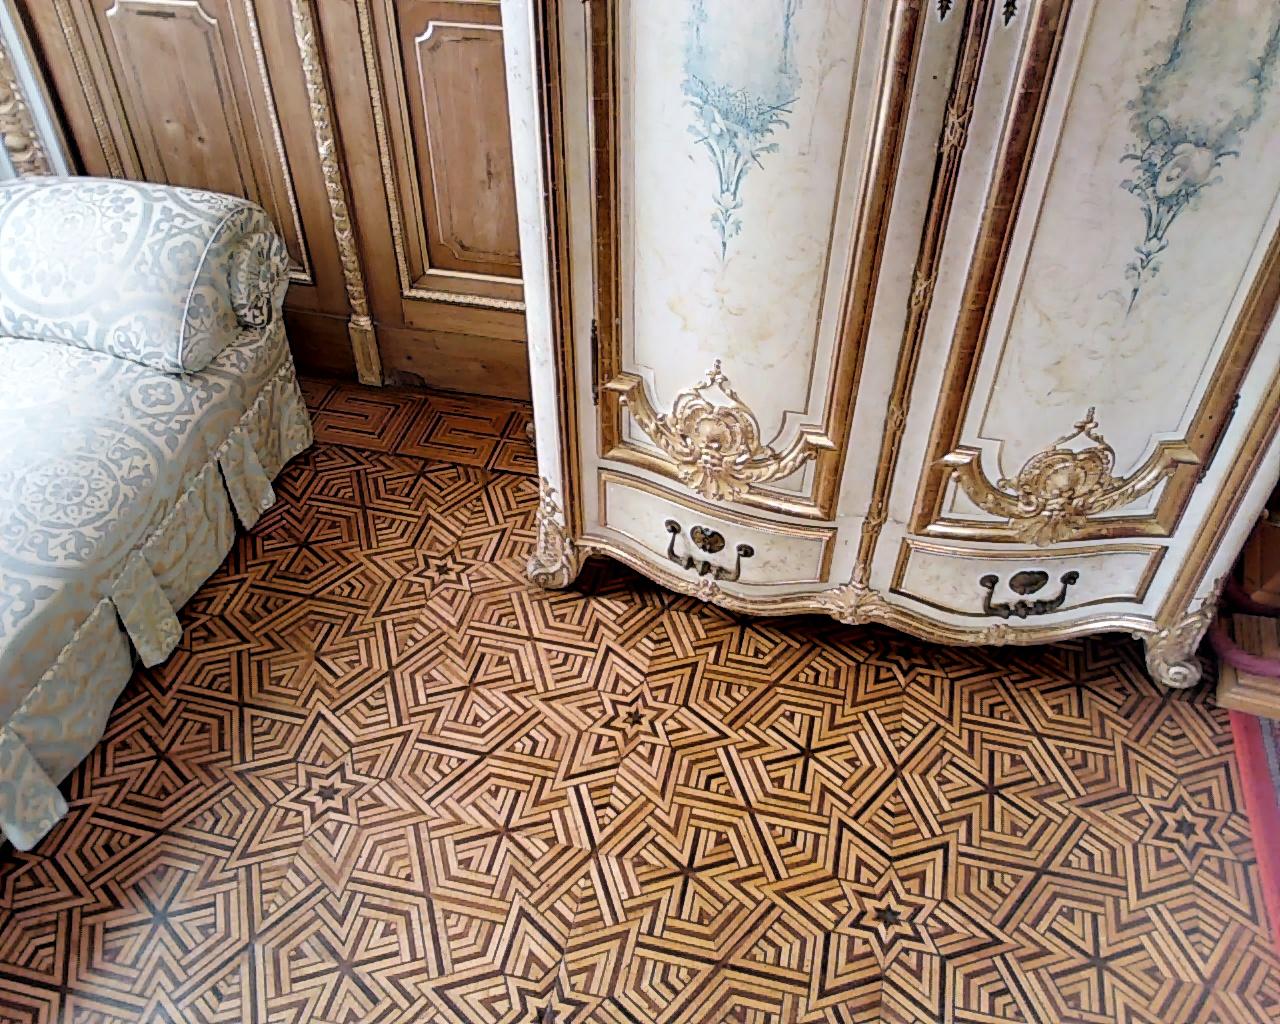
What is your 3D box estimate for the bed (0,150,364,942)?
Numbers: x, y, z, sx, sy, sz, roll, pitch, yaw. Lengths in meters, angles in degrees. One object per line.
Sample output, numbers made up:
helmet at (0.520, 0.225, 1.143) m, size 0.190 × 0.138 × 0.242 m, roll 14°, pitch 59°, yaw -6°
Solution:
bed at (-1.320, 0.040, 2.040) m, size 0.780 × 0.690 × 1.760 m, roll 9°, pitch 43°, yaw 10°
